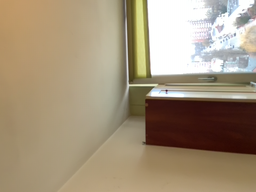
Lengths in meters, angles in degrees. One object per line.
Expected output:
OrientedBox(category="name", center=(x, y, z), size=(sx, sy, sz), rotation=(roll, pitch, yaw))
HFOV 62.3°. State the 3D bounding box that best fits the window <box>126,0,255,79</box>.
OrientedBox(category="window", center=(0.770, -0.520, 1.590), size=(0.130, 1.580, 0.760), rotation=(-31, -60, -73))
